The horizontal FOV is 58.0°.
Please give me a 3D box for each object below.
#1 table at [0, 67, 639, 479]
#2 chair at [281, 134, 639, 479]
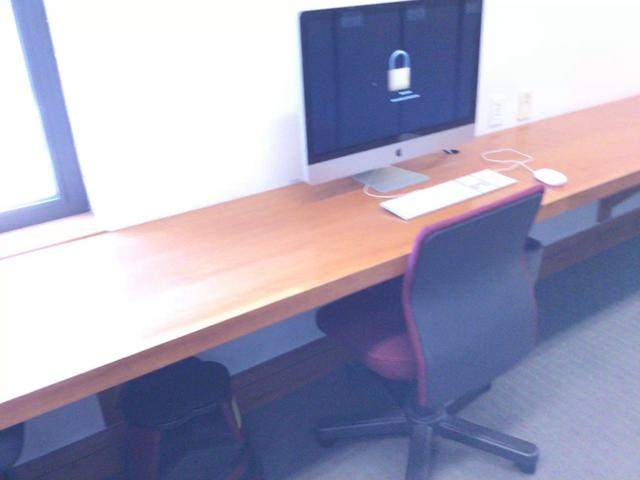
[{"bbox_3d":[-0.810,0.310,1.120,6.100,1.020,0.920,-12,24,-31],"label":"table"},{"bbox_3d":[0.350,0.210,1.700,0.670,0.880,0.680,-12,24,-31],"label":"chair"}]
